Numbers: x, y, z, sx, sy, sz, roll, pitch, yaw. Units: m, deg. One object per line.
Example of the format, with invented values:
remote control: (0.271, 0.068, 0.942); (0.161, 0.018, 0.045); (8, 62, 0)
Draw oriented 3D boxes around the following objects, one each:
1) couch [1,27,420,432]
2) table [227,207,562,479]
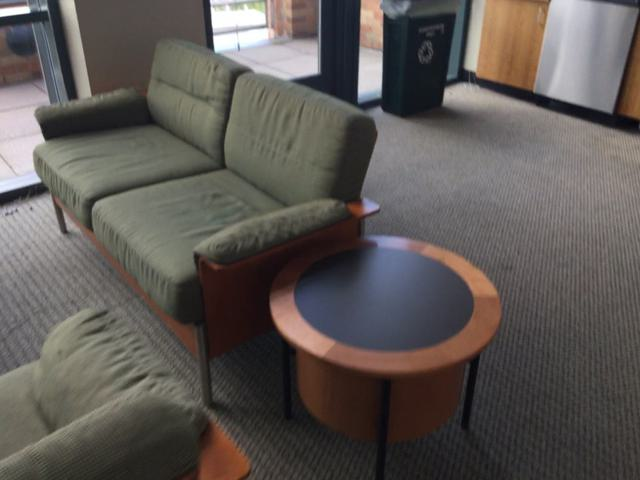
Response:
couch: (-0.490, -0.230, 2.170); (0.800, 0.780, 1.550); (-21, 36, -30)
table: (0.180, 0.290, 1.610); (0.610, 0.410, 0.620); (-21, 36, -30)
